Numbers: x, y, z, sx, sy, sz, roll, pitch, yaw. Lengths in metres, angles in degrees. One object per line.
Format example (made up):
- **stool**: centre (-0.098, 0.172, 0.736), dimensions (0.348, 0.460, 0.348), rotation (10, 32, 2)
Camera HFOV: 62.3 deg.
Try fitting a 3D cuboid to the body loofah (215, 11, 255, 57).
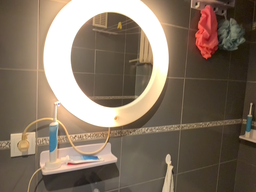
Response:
- **body loofah**: centre (0.640, -0.340, 1.210), dimensions (0.260, 0.210, 0.110), rotation (0, 7, -30)
